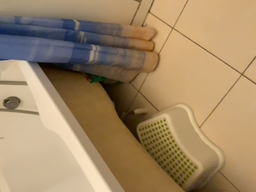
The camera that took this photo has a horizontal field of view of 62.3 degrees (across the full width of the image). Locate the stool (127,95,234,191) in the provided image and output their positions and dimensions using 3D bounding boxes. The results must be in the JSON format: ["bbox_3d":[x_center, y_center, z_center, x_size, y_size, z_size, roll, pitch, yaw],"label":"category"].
[{"bbox_3d":[0.190,0.210,0.860,0.250,0.130,0.340,-50,62,36],"label":"stool"}]
